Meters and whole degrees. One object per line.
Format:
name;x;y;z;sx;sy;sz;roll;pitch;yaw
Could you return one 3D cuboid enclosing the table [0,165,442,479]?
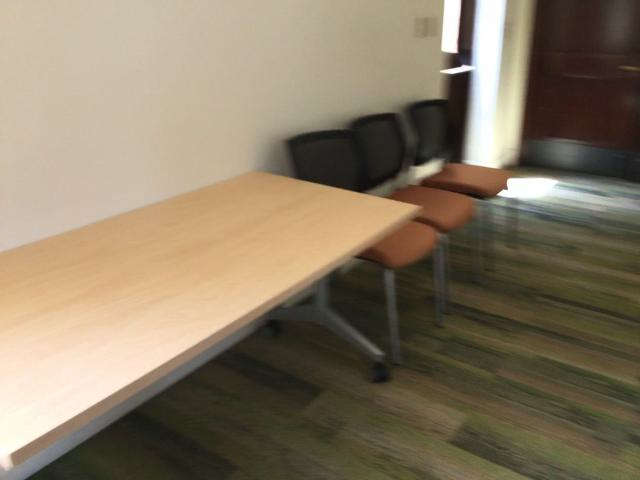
table;-0.320;0.300;1.730;0.740;0.750;1.620;11;20;32
